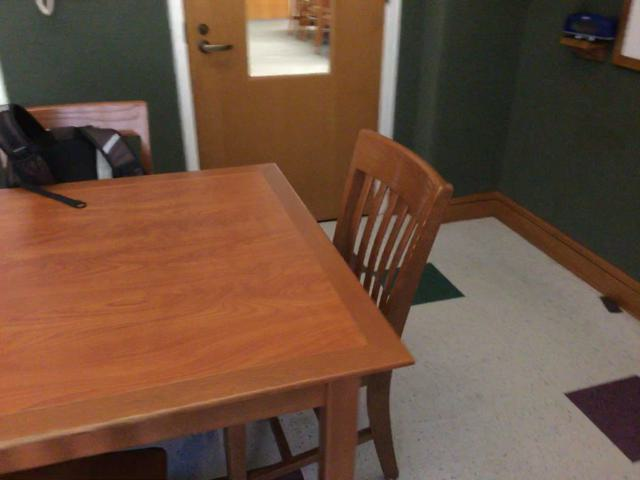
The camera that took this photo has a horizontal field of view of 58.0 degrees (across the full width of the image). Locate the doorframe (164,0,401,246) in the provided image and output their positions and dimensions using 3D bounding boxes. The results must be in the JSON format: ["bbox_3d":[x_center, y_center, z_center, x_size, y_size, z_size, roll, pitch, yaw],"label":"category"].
[{"bbox_3d":[-0.130,-0.940,2.470,1.020,1.990,0.050,-9,29,-17],"label":"doorframe"}]

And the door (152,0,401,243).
[{"bbox_3d":[-0.170,-0.990,2.510,1.060,2.000,0.180,-9,29,-17],"label":"door"}]

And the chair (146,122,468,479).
[{"bbox_3d":[-0.060,0.220,1.470,0.590,0.880,0.470,-9,29,-17],"label":"chair"}]
